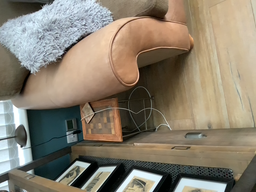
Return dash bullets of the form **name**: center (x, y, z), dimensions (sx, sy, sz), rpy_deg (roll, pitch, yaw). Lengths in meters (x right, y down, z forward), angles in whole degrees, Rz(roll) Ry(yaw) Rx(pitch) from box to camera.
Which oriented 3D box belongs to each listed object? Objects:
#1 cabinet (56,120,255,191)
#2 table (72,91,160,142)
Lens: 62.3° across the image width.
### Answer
- **cabinet**: center (0.120, 0.450, 1.180), dimensions (1.300, 0.390, 0.500), rpy_deg (-12, 86, 44)
- **table**: center (-0.080, 0.130, 1.360), dimensions (0.390, 0.360, 0.240), rpy_deg (-13, 86, 44)
